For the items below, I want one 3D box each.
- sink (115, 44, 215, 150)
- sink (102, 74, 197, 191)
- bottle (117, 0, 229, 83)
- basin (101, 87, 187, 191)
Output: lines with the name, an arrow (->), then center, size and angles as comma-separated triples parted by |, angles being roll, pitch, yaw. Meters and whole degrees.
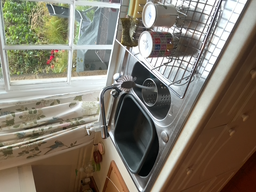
sink -> 0.120, -0.030, 0.950 | 0.520, 0.120, 0.180 | 53, 139, 40
sink -> 0.060, 0.200, 1.120 | 0.520, 0.140, 0.400 | 53, 139, 40
bottle -> 0.120, -0.260, 0.760 | 0.340, 0.140, 0.270 | 53, 139, 40
basin -> 0.050, 0.200, 1.110 | 0.430, 0.190, 0.280 | 55, 140, 39
